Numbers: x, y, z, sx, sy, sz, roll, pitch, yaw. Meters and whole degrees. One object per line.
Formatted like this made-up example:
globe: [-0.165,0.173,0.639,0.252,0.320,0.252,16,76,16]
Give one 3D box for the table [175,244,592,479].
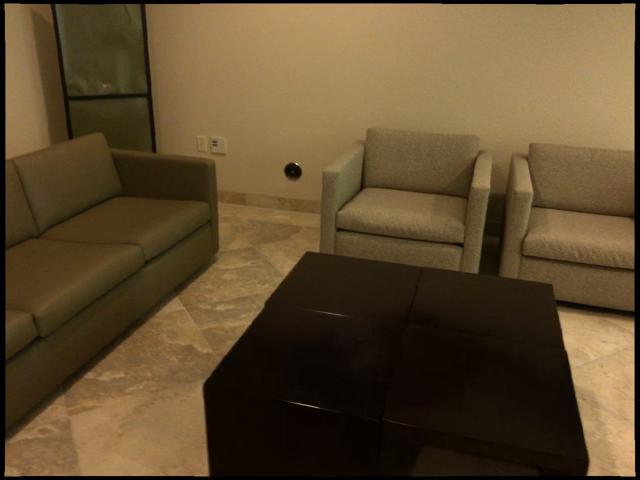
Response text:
table: [0.240,0.491,2.040,1.088,0.431,1.040,9,24,12]
